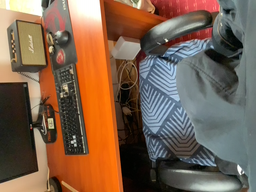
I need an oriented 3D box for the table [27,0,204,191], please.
[{"bbox_3d":[-0.070,0.070,1.410,0.690,0.770,1.170,-8,89,43],"label":"table"}]
